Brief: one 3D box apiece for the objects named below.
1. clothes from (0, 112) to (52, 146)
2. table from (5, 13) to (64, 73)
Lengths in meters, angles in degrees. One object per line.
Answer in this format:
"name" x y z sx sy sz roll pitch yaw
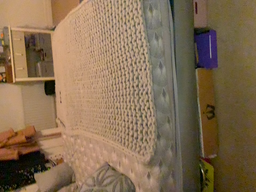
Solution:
"clothes" -1.890 0.540 3.270 0.180 1.290 0.410 -23 76 55
"table" -1.780 -0.950 4.060 0.500 0.900 0.960 -1 93 56
